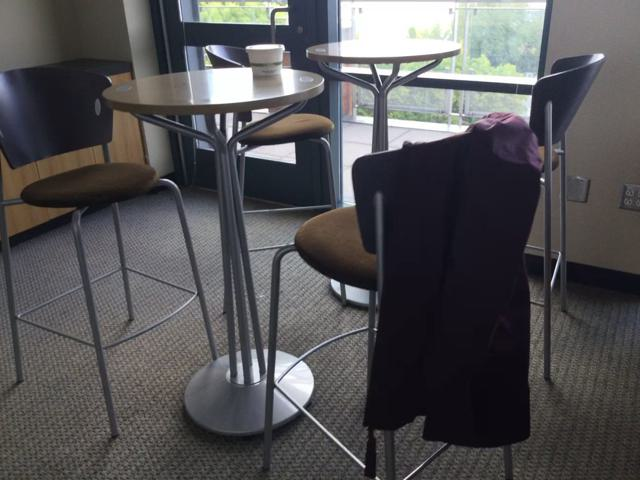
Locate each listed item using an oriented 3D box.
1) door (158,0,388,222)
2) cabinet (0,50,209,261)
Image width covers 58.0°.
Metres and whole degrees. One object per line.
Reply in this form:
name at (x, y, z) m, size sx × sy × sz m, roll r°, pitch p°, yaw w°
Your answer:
door at (-0.300, -1.140, 3.290) m, size 1.240 × 1.950 × 0.360 m, roll 7°, pitch 24°, yaw 31°
cabinet at (-1.790, -0.370, 2.930) m, size 0.530 × 0.880 × 2.630 m, roll 11°, pitch 26°, yaw 37°
